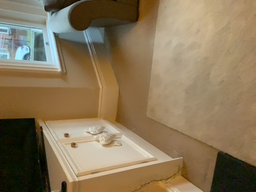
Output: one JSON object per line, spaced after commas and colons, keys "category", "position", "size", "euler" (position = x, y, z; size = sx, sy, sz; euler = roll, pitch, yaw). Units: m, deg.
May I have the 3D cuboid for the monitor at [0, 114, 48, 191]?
{"category": "monitor", "position": [-1.010, 0.580, 1.780], "size": [0.100, 0.550, 0.920], "euler": [-56, 46, 42]}
